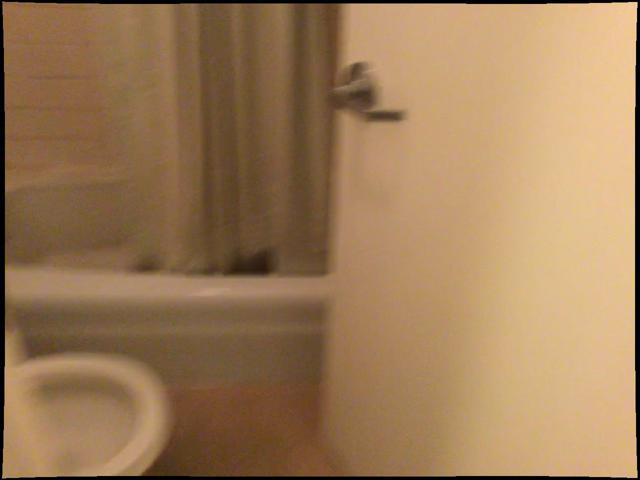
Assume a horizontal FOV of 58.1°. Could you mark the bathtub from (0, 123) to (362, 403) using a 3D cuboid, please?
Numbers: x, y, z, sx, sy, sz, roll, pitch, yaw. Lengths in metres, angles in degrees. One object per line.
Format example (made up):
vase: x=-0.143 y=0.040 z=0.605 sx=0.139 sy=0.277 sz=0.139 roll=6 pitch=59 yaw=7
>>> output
bathtub: x=-0.539 y=0.030 z=1.880 sx=1.227 sy=0.481 sz=0.781 roll=-3 pitch=37 yaw=-4

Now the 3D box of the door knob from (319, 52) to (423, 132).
door knob: x=0.080 y=-0.251 z=0.960 sx=0.090 sy=0.060 sz=0.170 roll=-19 pitch=41 yaw=-24

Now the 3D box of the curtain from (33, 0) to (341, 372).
curtain: x=-0.269 y=-0.261 z=1.460 sx=0.598 sy=1.412 sz=0.270 roll=-3 pitch=37 yaw=-4
